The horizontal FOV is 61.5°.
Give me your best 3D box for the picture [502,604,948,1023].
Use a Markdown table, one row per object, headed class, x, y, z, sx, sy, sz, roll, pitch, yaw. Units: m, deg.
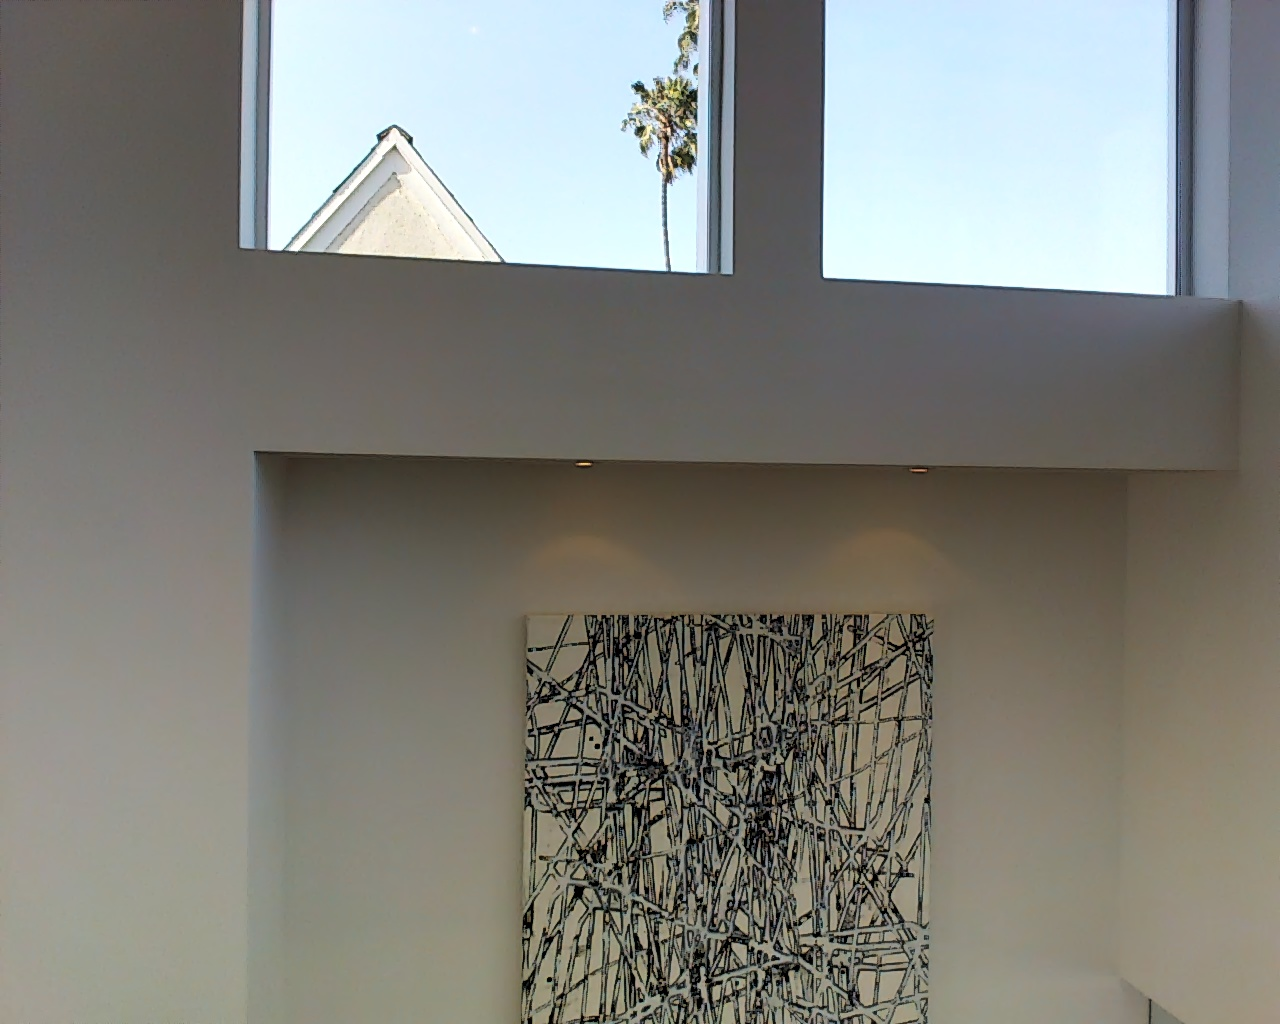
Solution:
| class | x | y | z | sx | sy | sz | roll | pitch | yaw |
| --- | --- | --- | --- | --- | --- | --- | --- | --- | --- |
| picture | 0.220 | 0.880 | 2.660 | 1.110 | 1.291 | 0.060 | 0 | 0 | -9 |
